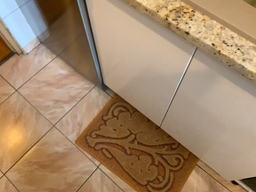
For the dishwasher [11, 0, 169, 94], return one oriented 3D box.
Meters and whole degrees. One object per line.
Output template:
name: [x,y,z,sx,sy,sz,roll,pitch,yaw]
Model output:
dishwasher: [-0.200,-0.580,1.110,0.620,0.830,0.620,38,71,15]
